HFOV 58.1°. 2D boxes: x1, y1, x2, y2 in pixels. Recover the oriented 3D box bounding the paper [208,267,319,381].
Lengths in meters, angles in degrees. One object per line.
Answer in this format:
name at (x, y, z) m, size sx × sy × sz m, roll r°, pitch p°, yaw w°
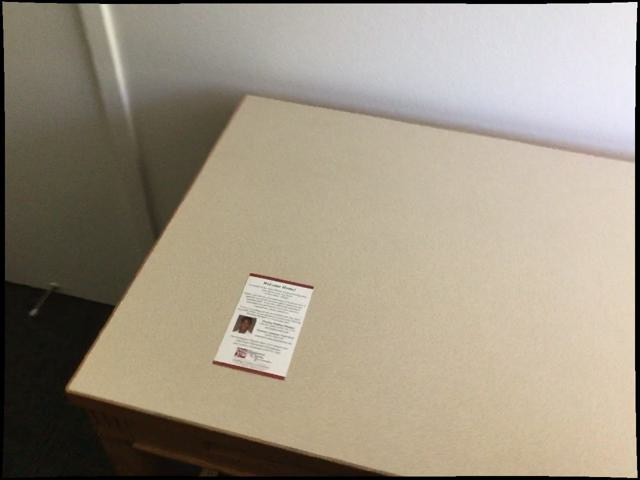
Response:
paper at (-0.060, 0.090, 0.650) m, size 0.090 × 0.010 × 0.130 m, roll 11°, pitch 47°, yaw 8°
